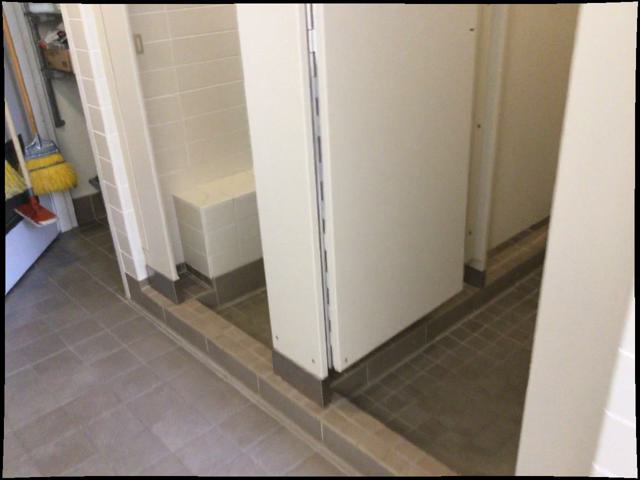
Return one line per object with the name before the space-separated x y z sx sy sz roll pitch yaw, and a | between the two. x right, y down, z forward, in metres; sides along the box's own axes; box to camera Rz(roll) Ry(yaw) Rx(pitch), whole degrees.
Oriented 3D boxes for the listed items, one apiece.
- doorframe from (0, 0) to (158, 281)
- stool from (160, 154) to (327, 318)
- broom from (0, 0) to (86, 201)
doorframe | -1.139 -0.841 2.390 0.160 1.932 0.880 -25 33 -34
stool | -0.300 -0.040 2.460 0.600 0.460 0.270 -25 34 -34
broom | -1.389 -0.871 2.620 0.210 1.371 0.260 -25 33 -34
